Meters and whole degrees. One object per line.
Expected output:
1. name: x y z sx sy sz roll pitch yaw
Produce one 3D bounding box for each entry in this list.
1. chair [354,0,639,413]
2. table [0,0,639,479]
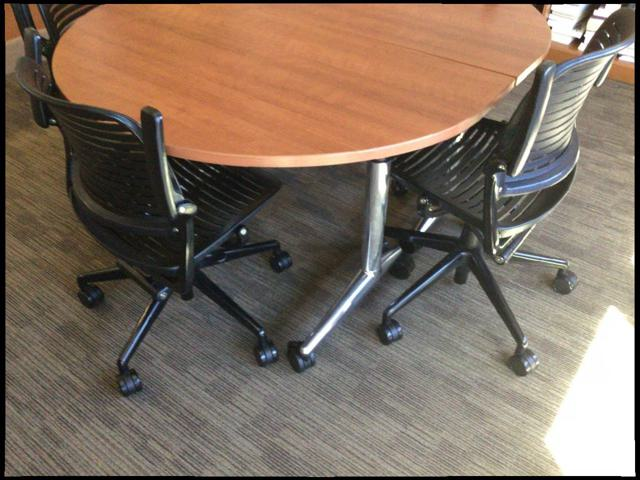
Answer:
1. chair: 0.449 -0.110 1.500 0.440 0.881 0.560 28 48 28
2. table: 0.020 -0.311 1.790 1.319 0.771 1.490 29 49 28
